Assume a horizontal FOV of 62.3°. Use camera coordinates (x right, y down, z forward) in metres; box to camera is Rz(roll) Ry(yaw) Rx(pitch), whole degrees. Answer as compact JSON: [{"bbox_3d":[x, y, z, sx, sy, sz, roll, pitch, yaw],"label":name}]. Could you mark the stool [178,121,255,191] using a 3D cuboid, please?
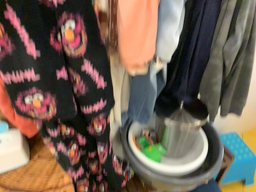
[{"bbox_3d":[0.640,0.430,1.490,0.400,0.250,0.370,-9,41,-15],"label":"stool"}]
